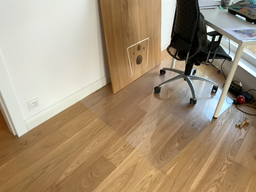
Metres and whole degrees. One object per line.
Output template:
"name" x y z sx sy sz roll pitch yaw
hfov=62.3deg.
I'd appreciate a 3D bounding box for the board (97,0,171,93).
"board" 0.090 -0.760 2.090 0.220 1.230 0.860 28 44 29
